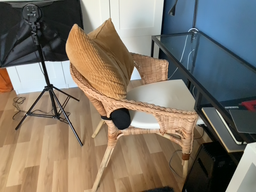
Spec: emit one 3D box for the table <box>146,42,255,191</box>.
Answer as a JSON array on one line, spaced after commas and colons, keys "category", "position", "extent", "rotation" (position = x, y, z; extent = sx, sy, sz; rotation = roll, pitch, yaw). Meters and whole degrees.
[{"category": "table", "position": [0.440, 0.170, 1.330], "extent": [0.350, 0.640, 1.010], "rotation": [-7, 36, -10]}]
